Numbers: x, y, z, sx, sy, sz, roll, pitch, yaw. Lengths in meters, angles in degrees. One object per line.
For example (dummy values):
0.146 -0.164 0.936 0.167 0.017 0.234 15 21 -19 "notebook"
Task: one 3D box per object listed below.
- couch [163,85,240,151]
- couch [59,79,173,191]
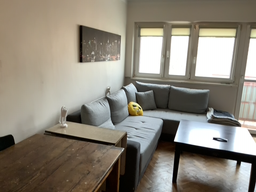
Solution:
1.290 0.330 3.890 1.100 0.840 0.920 6 12 16 "couch"
0.060 0.340 3.450 0.980 0.890 2.480 6 12 17 "couch"
